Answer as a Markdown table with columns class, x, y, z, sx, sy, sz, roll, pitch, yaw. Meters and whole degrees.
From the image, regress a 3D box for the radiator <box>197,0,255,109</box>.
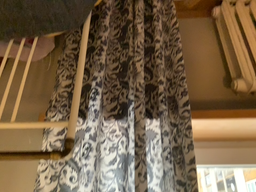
| class | x | y | z | sx | sy | sz | roll | pitch | yaw |
| --- | --- | --- | --- | --- | --- | --- | --- | --- | --- |
| radiator | 0.790 | -0.290 | 1.140 | 0.680 | 0.690 | 0.170 | -2 | 152 | 4 |
